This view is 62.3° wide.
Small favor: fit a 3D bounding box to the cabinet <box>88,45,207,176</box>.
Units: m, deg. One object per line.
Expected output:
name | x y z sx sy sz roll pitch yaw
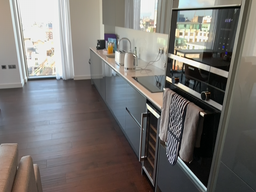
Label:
cabinet | -0.080 -0.190 3.710 0.630 0.940 3.420 -5 22 -19
